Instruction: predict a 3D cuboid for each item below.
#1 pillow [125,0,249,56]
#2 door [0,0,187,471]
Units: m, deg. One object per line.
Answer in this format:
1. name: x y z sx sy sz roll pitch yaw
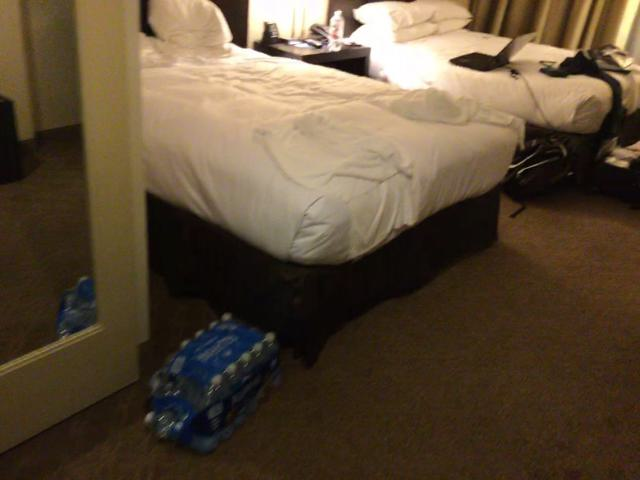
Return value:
1. pillow: -0.740 -1.280 3.310 0.220 0.330 0.690 26 35 33
2. door: -0.800 -0.080 1.300 0.150 1.470 1.040 26 35 33
